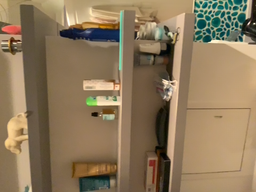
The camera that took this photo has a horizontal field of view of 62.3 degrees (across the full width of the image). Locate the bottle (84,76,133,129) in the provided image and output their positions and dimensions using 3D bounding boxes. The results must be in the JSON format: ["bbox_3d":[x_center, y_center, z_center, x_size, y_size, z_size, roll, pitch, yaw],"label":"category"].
[{"bbox_3d":[-0.070,0.020,0.740,0.070,0.160,0.170,-130,42,-76],"label":"bottle"}]
